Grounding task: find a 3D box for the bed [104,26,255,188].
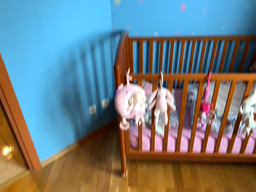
[{"bbox_3d":[0.690,0.060,1.640,1.570,0.970,0.770,1,33,3],"label":"bed"}]
